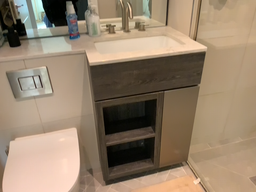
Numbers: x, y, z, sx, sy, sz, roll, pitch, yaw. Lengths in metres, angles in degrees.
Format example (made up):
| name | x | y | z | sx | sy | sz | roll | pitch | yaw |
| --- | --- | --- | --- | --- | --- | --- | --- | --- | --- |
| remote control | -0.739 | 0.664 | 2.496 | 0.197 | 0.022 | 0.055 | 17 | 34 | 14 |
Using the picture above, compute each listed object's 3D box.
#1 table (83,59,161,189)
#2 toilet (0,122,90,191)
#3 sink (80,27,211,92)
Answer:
| name | x | y | z | sx | sy | sz | roll | pitch | yaw |
| --- | --- | --- | --- | --- | --- | --- | --- | --- | --- |
| table | -0.060 | 0.170 | 1.450 | 0.360 | 0.680 | 0.480 | -9 | 32 | -13 |
| toilet | -0.430 | 0.500 | 1.170 | 0.390 | 0.440 | 0.490 | -11 | 32 | -12 |
| sink | 0.060 | -0.250 | 1.240 | 0.620 | 0.150 | 0.480 | -9 | 32 | -13 |
